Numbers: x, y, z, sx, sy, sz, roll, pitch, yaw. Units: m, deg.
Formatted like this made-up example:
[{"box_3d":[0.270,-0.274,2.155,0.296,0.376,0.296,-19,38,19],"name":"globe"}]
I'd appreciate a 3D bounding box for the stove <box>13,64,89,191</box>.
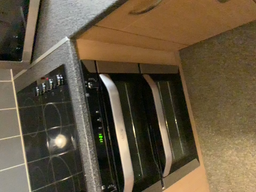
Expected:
[{"box_3d":[-0.360,0.220,0.920,0.540,0.010,0.580,-15,84,43],"name":"stove"}]
